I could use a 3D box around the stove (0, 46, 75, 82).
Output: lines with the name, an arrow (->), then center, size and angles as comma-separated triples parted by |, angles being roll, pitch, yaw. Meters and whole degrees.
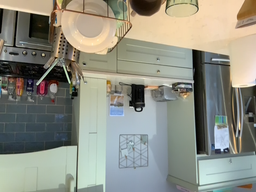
stove -> -1.130, -0.300, 2.060 | 1.100, 0.160, 0.600 | 3, 172, -24
